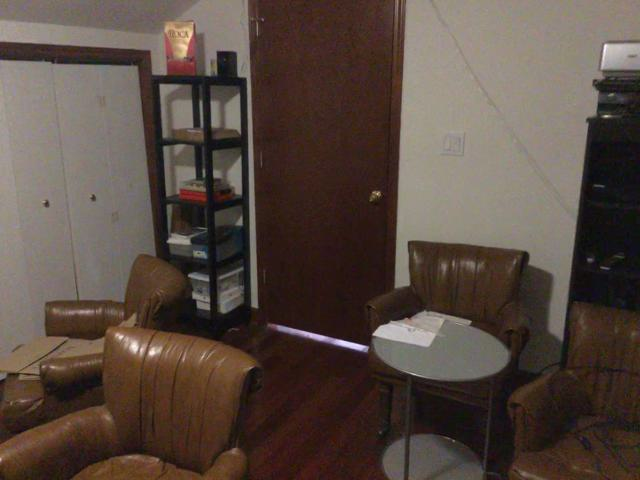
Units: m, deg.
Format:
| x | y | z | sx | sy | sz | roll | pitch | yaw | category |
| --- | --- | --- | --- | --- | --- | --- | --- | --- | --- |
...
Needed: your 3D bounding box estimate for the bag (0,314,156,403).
| x | y | z | sx | sy | sz | roll | pitch | yaw | category |
| --- | --- | --- | --- | --- | --- | --- | --- | --- | --- |
| -0.950 | 0.440 | 2.210 | 0.530 | 0.170 | 0.380 | 1 | 15 | 1 | bag |
